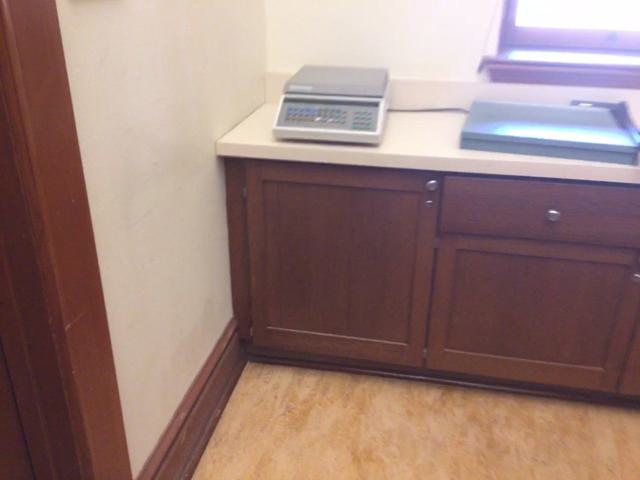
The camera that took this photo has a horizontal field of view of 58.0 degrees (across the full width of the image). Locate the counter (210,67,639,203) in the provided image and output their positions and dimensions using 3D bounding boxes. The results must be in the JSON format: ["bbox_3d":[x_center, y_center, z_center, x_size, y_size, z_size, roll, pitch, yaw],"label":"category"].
[{"bbox_3d":[0.700,-0.340,1.780,1.940,0.220,0.620,5,24,10],"label":"counter"}]

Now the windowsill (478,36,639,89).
[{"bbox_3d":[1.160,-0.620,2.030,1.140,0.120,0.380,5,24,10],"label":"windowsill"}]

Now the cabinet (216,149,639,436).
[{"bbox_3d":[0.650,0.190,1.770,1.940,0.800,0.130,5,24,10],"label":"cabinet"}]
